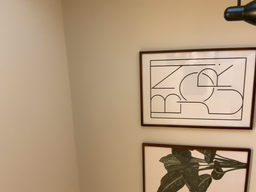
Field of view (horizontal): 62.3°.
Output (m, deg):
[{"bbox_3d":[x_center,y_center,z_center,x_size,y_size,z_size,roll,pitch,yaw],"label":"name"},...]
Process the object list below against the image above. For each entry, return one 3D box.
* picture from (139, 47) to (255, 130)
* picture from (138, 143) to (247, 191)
[{"bbox_3d":[0.430,-0.040,1.380,0.020,0.710,0.520,-49,-42,-75],"label":"picture"},{"bbox_3d":[0.440,0.610,1.520,0.020,0.720,0.540,-49,-42,-75],"label":"picture"}]
